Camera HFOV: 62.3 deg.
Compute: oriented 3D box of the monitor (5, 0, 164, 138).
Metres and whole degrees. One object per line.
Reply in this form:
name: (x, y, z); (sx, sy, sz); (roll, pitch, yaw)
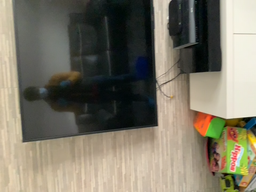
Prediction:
monitor: (-0.210, -0.510, 1.290); (0.040, 0.870, 1.500); (-169, 84, -77)
